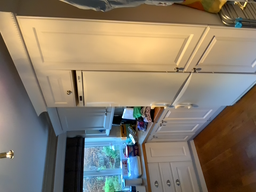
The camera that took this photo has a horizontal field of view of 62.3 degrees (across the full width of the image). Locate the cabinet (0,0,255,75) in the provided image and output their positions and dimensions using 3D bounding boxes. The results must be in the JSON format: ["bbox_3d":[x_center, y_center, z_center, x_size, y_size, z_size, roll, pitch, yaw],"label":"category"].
[{"bbox_3d":[0.230,-0.610,1.770,0.560,2.240,0.640,105,162,-56],"label":"cabinet"}]
